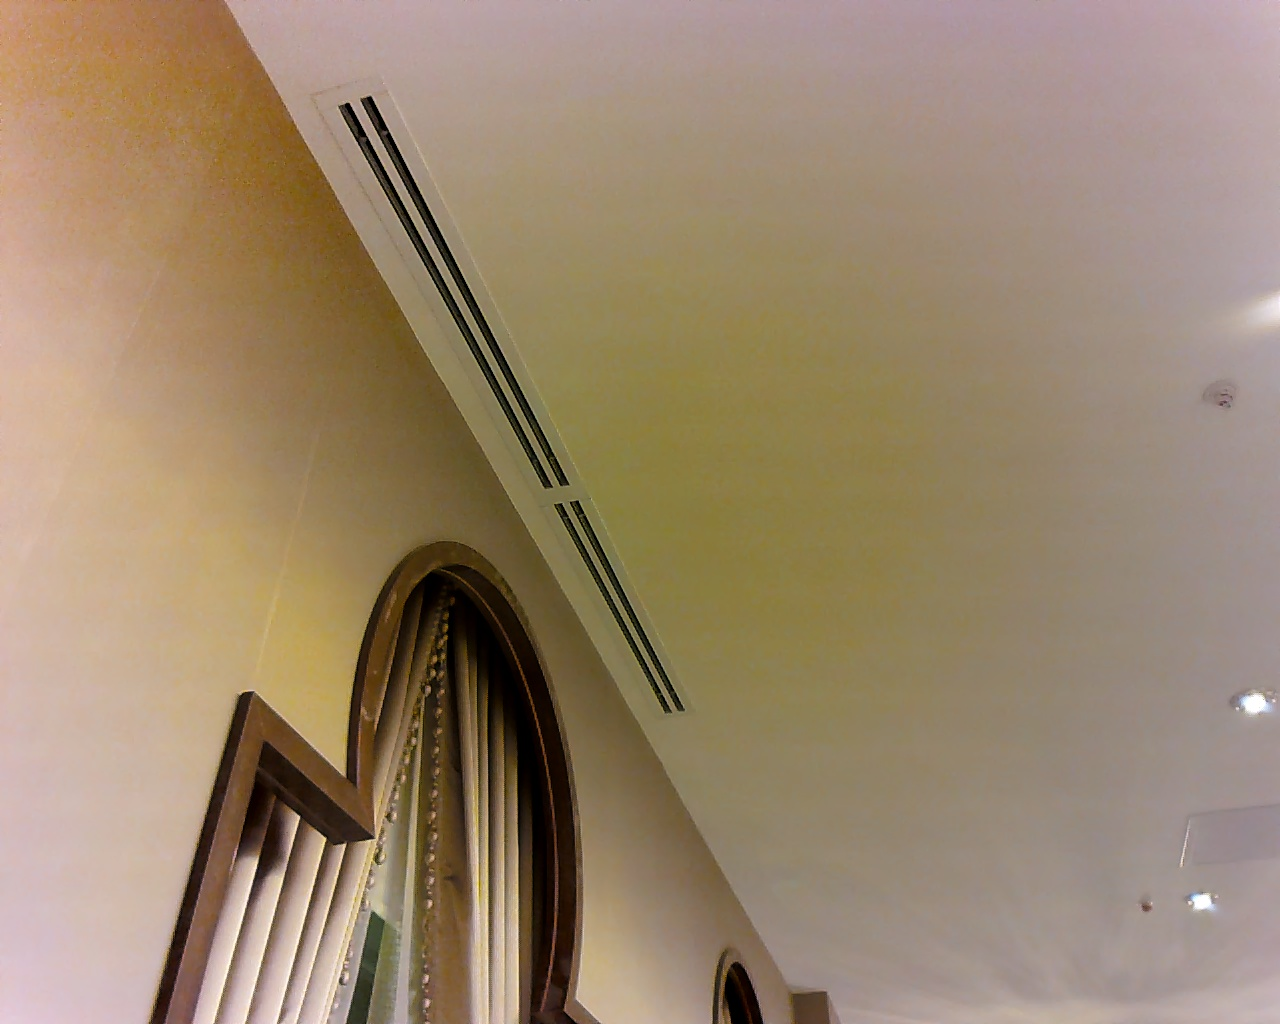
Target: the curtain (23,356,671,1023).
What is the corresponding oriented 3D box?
[{"bbox_3d":[-0.290,1.331,1.390,0.270,2.781,1.600,-11,-43,13],"label":"curtain"}]
